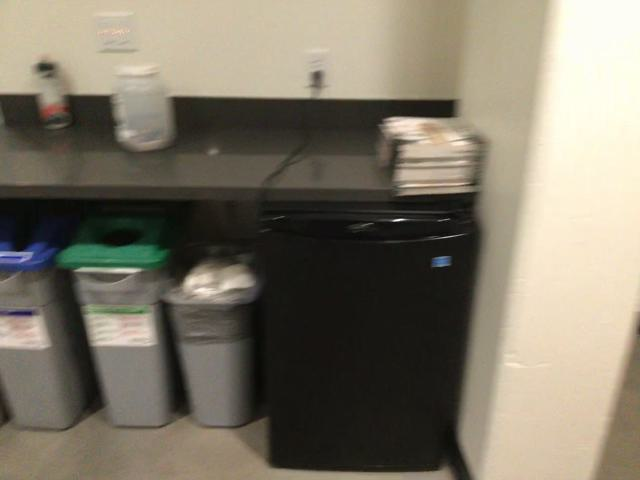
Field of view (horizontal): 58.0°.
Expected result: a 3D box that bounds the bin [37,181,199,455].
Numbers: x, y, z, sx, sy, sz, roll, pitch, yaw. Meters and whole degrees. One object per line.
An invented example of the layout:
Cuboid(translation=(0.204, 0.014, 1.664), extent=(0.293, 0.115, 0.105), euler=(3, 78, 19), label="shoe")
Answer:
Cuboid(translation=(-0.580, 0.230, 1.810), extent=(0.300, 0.680, 0.490), euler=(3, 27, -3), label="bin")

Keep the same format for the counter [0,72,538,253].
Cuboid(translation=(-0.300, -0.260, 1.650), extent=(1.560, 0.350, 0.670), euler=(-1, 21, -1), label="counter")

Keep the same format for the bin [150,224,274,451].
Cuboid(translation=(-0.320, 0.290, 1.830), extent=(0.310, 0.570, 0.410), euler=(3, 19, -3), label="bin")

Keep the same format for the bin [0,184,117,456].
Cuboid(translation=(-0.870, 0.220, 1.790), extent=(0.290, 0.670, 0.500), euler=(3, 19, -3), label="bin")

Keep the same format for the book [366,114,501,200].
Cuboid(translation=(0.280, -0.230, 1.530), extent=(0.270, 0.160, 0.340), euler=(0, 20, -2), label="book")
